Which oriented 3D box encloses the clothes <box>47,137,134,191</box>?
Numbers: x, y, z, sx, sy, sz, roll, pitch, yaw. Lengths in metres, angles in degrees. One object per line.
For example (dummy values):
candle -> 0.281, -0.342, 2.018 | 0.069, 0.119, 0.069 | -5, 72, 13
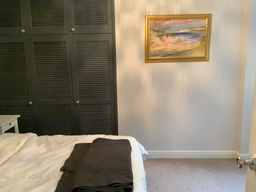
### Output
clothes -> -0.230, 0.520, 1.690 | 0.520, 0.050, 0.880 | -1, 10, 0
